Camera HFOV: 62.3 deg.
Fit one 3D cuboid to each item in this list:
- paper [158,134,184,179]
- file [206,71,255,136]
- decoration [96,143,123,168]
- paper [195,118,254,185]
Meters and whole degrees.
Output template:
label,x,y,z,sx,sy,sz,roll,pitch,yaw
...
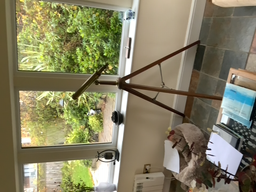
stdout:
label,x,y,z,sx,sy,sz,roll,pitch,yaw
paper,0.550,0.780,2.790,0.390,0.120,0.450,-157,69,-69
file,0.770,0.040,1.480,0.360,0.170,0.320,-124,39,-59
decoration,-0.260,0.810,2.900,0.170,0.320,0.250,-129,44,-62
paper,0.680,0.390,1.560,0.370,0.100,0.310,-124,39,-59
